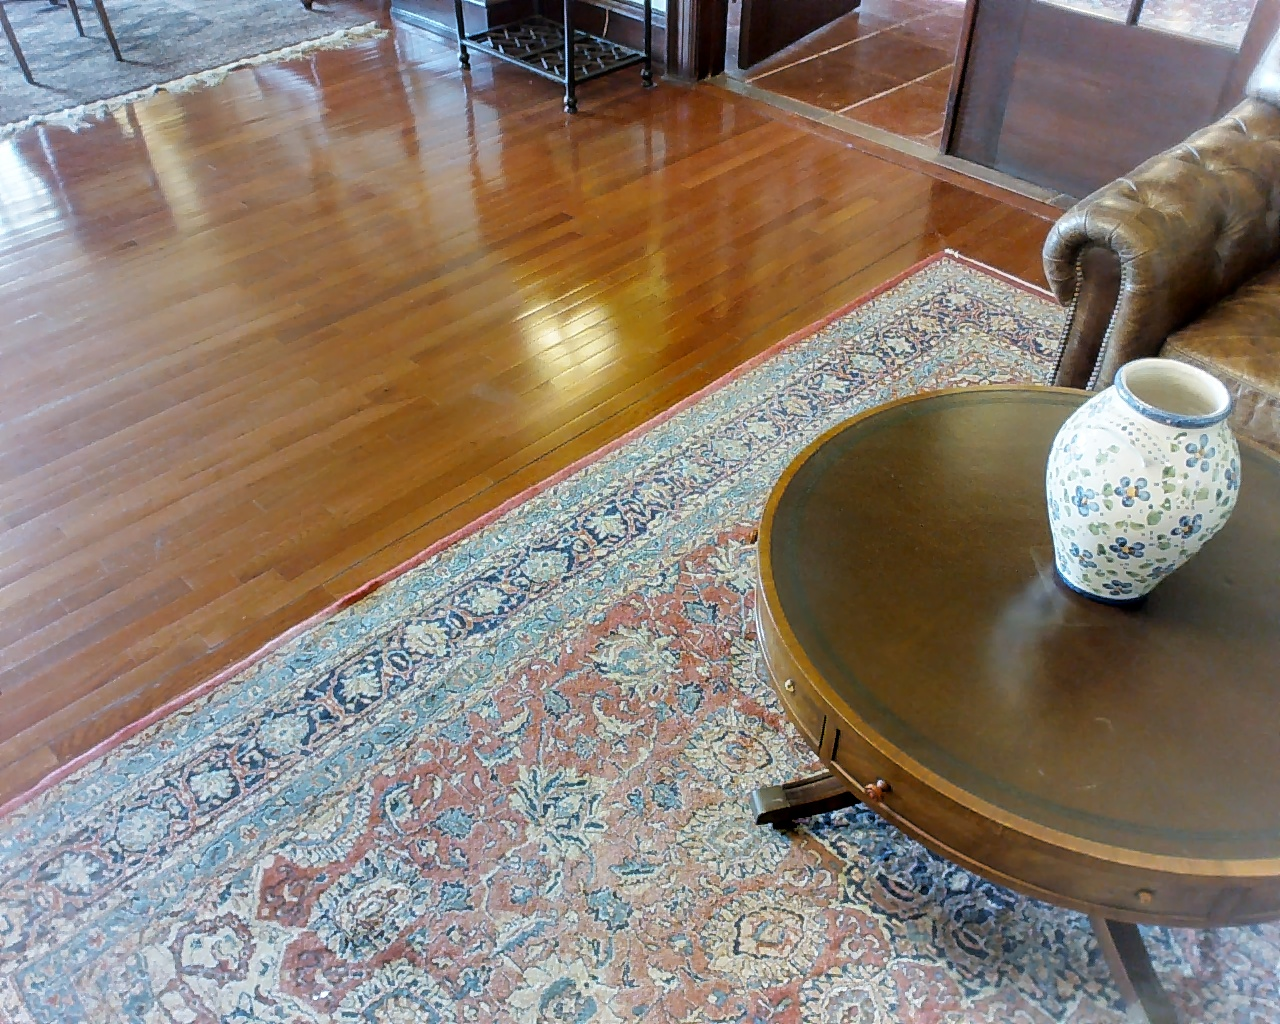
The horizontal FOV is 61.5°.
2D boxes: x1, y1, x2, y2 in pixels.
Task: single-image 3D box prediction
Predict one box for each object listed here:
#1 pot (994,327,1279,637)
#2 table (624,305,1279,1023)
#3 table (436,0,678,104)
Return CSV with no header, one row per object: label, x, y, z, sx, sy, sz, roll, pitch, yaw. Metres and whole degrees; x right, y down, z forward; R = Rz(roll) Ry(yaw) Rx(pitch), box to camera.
pot,0.650,-0.040,1.420,0.200,0.300,0.220,-15,44,-16
table,0.650,0.250,1.690,0.950,0.510,0.950,-33,52,-32
table,-0.340,-2.180,4.180,0.590,0.810,0.790,-33,52,-32
